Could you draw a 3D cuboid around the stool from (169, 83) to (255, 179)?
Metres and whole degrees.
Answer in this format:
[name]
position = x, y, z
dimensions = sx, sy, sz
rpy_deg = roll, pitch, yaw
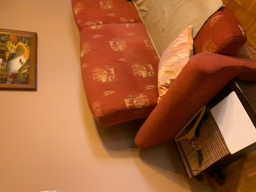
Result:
[stool]
position = 0.670, 0.280, 1.500
dimensions = 0.740, 0.350, 0.320
rpy_deg = 118, 145, -45

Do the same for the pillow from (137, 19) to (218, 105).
[pillow]
position = 0.320, -0.220, 1.550
dimensions = 0.460, 0.270, 0.390
rpy_deg = 124, 141, -50

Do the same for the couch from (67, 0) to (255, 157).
[couch]
position = 0.080, -0.830, 2.060
dimensions = 1.040, 1.050, 2.440
rpy_deg = 118, 145, -45
